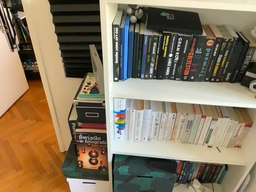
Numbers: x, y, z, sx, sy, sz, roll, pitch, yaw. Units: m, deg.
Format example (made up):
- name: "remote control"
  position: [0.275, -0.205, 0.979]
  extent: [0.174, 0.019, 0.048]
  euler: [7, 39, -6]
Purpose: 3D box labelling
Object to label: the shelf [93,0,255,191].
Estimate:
- name: "shelf"
  position: [0.240, 0.110, 1.080]
  extent: [0.720, 1.180, 0.330]
  euler: [4, 38, 0]
